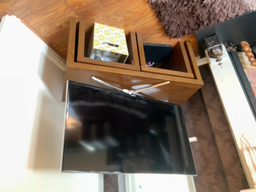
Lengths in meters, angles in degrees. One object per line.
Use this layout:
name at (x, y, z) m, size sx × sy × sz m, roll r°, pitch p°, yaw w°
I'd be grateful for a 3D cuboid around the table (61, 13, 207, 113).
table at (0.020, -0.210, 1.780) m, size 1.030 × 0.440 × 0.520 m, roll 7°, pitch 148°, yaw -20°
